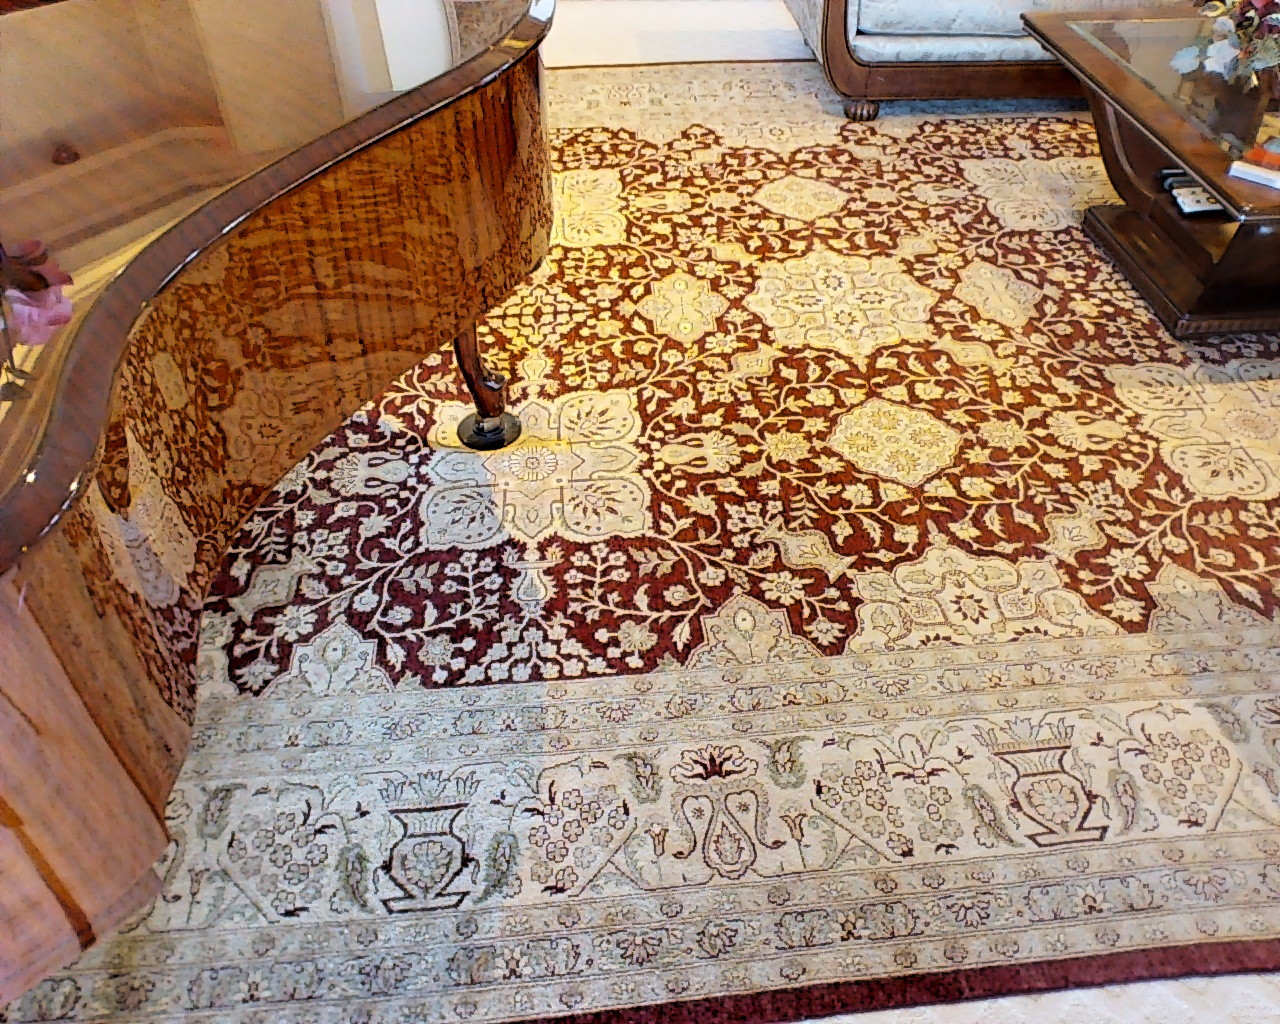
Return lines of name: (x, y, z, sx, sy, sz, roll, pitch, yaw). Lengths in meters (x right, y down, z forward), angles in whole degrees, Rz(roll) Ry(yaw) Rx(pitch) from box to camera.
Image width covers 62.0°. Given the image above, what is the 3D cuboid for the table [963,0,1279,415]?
table: (1.550, -0.860, 2.720, 0.940, 0.500, 1.310, -4, 41, -5)
